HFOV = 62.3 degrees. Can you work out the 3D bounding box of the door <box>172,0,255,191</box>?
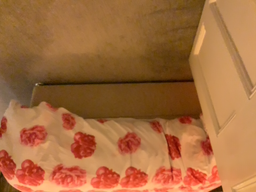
[{"bbox_3d":[0.430,0.350,0.660,0.130,1.890,0.780,-3,148,-2],"label":"door"}]
